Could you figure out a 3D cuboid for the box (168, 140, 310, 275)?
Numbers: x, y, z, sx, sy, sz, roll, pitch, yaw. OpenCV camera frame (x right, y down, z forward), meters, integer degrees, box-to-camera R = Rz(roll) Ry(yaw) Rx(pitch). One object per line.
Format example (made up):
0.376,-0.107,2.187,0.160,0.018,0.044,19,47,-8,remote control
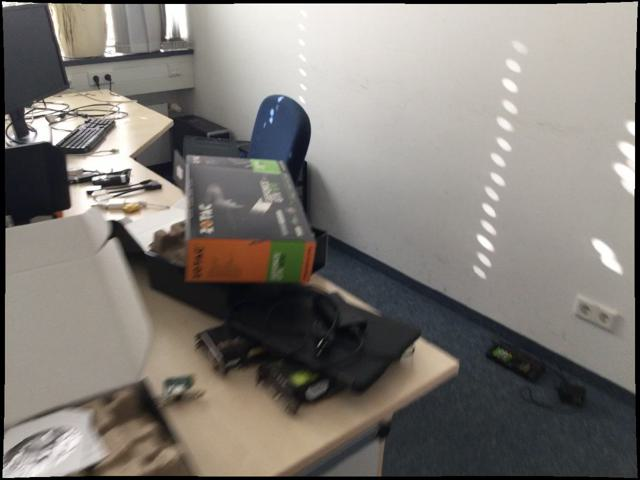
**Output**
-0.210,-0.100,1.370,0.270,0.110,0.460,-7,29,-12,box

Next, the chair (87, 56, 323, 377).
-0.430,-0.130,2.270,0.709,0.981,0.660,-9,30,-15,chair
